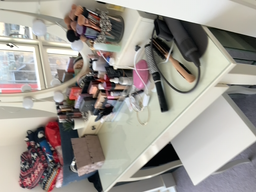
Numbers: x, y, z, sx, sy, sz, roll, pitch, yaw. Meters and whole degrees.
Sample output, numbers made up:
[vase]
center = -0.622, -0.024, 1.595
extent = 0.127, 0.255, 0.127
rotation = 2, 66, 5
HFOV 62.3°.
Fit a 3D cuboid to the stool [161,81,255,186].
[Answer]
[stool]
center = 0.510, 0.180, 1.080
extent = 0.420, 0.460, 0.290
rotation = -61, 42, 40
